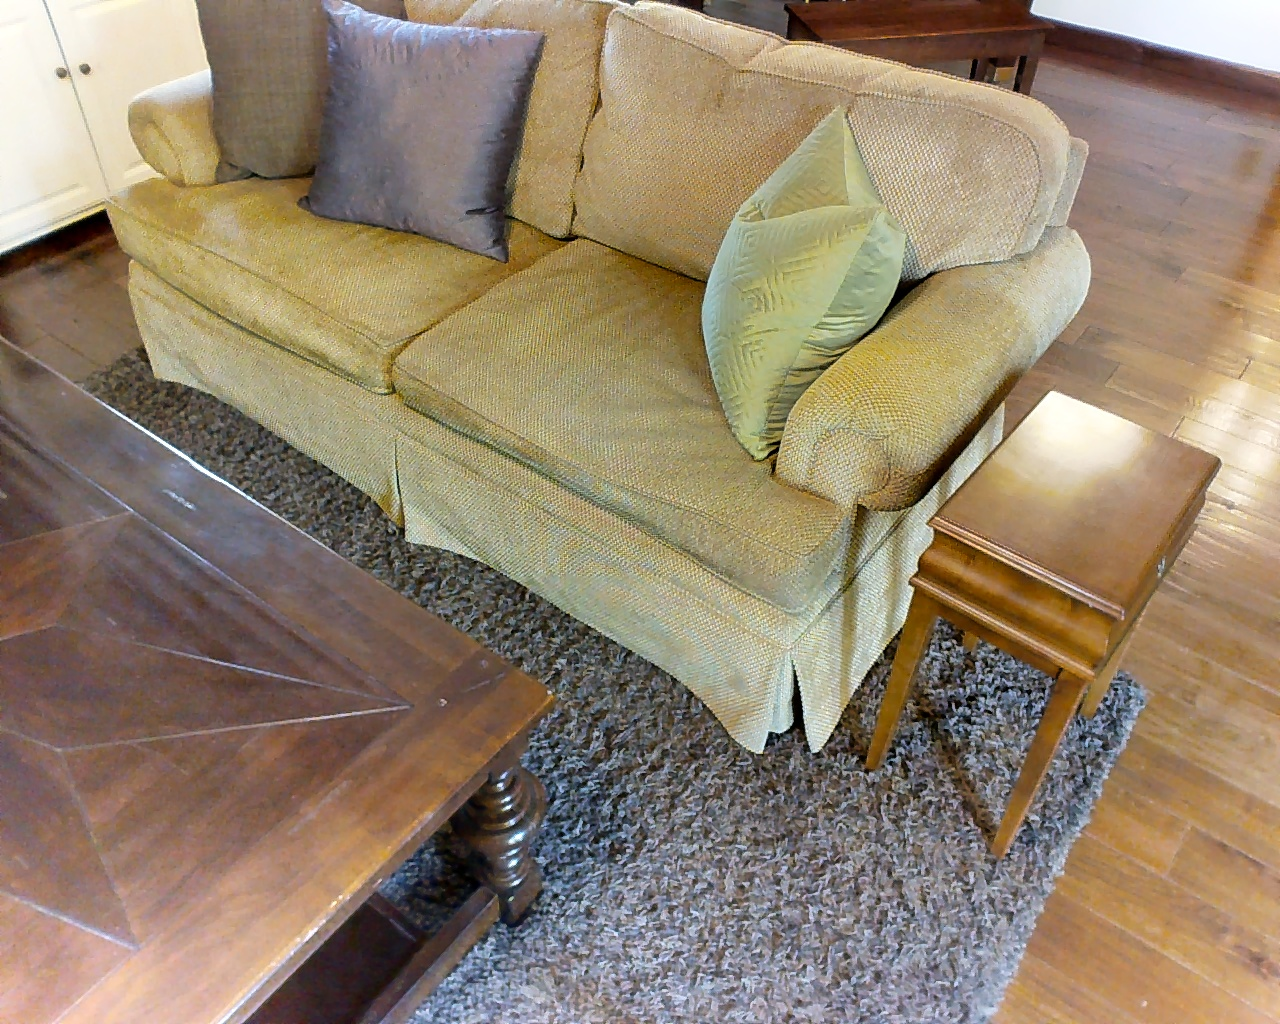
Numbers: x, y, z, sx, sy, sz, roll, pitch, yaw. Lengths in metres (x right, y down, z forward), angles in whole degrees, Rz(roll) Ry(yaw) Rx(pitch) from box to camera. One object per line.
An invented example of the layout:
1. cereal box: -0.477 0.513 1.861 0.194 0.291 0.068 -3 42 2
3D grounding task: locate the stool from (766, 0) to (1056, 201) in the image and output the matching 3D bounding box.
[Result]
1. stool: 0.870 -1.400 3.580 0.770 0.510 0.380 -10 43 -11

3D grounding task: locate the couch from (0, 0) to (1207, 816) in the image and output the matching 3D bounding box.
1. couch: -0.210 -0.560 2.280 2.100 0.930 1.080 28 49 27
